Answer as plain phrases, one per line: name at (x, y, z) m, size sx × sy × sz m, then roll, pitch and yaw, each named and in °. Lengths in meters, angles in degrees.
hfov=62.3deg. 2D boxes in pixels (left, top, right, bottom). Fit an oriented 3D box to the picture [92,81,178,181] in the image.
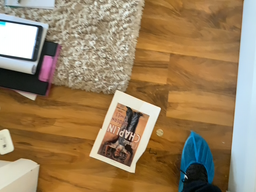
picture at (0.030, 0.140, 0.870) m, size 0.250 × 0.050 × 0.330 m, roll 20°, pitch 85°, yaw -1°
